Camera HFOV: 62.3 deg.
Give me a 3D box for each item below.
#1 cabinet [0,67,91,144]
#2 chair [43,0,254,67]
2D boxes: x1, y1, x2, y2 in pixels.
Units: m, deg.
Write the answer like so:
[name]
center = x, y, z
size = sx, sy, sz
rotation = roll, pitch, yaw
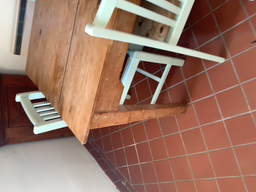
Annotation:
[cabinet]
center = -0.910, 0.070, 2.160
size = 0.510, 0.810, 0.530
rotation = 33, 114, 43
[chair]
center = 0.140, -0.440, 0.990
size = 0.450, 0.850, 0.390
rotation = 37, 116, 41
